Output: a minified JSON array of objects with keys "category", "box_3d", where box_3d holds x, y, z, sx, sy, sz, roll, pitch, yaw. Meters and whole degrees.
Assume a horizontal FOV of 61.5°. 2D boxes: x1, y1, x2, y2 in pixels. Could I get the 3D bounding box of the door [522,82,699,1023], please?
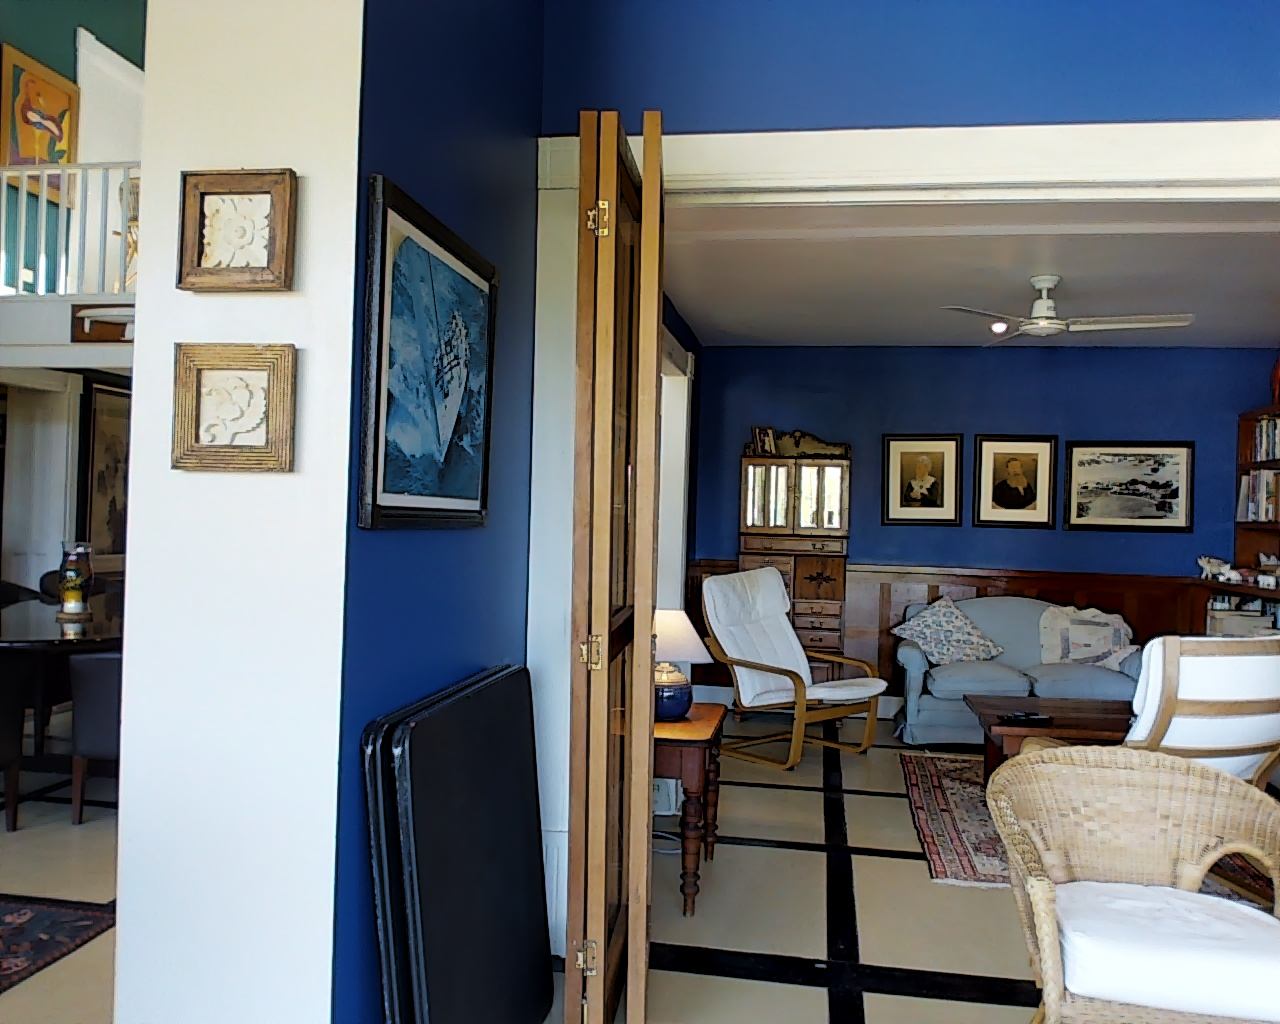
[{"category":"door","box_3d":[-0.070,0.150,2.770,0.330,2.201,0.760,2,0,-1]}]
